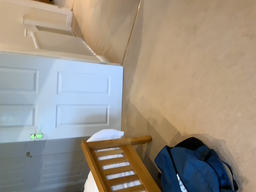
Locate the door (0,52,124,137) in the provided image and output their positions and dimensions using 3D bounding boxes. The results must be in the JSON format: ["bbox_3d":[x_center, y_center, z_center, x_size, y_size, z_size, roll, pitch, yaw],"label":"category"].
[{"bbox_3d":[-0.920,0.000,2.090,0.040,1.950,0.780,9,96,59],"label":"door"}]
